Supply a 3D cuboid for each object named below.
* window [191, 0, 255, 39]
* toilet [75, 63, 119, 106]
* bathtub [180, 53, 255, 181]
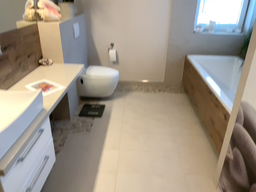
[{"bbox_3d":[1.500,-1.510,3.150,0.900,1.240,0.160,3,26,2],"label":"window"},{"bbox_3d":[-0.430,-0.180,3.110,0.560,0.500,0.390,2,26,2],"label":"toilet"},{"bbox_3d":[1.300,0.040,2.630,0.890,0.600,2.020,3,26,2],"label":"bathtub"}]
